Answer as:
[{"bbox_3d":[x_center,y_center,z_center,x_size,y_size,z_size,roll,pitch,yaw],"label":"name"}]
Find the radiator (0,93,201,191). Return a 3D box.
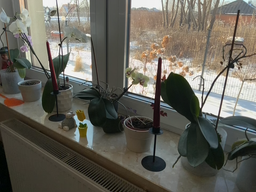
[{"bbox_3d":[-0.290,0.530,1.140,1.170,0.830,0.200,15,24,32],"label":"radiator"}]
